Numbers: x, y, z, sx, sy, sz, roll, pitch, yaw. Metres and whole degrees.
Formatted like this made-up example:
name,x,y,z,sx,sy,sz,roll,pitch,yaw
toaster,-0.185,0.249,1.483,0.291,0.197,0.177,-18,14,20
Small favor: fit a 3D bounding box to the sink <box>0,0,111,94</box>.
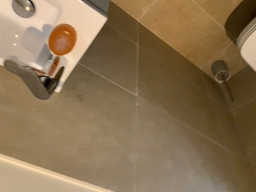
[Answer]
name,x,y,z,sx,sy,sz,roll,pitch,yaw
sink,-0.300,-0.240,0.530,0.430,0.190,0.260,29,129,-23
